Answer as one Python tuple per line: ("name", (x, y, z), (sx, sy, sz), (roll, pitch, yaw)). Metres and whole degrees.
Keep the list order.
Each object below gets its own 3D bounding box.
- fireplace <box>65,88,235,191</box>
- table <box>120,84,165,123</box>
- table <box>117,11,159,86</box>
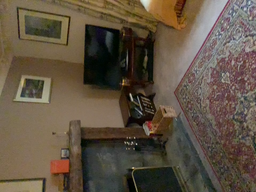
("fireplace", (0.110, 0.830, 1.970), (1.760, 1.280, 0.770), (-107, 28, -45))
("table", (0.190, 0.100, 3.000), (0.530, 0.470, 0.220), (-108, 28, -46))
("table", (0.140, -0.690, 3.360), (0.560, 0.420, 1.020), (180, 94, -71))
